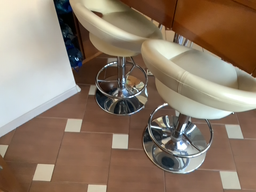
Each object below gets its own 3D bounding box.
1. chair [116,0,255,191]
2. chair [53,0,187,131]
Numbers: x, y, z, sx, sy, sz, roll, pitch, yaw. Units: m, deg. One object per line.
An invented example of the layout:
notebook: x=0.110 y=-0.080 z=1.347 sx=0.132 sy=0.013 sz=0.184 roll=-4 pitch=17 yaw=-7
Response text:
chair: x=0.320 y=0.050 z=1.100 sx=0.460 sy=0.820 sz=0.600 roll=-36 pitch=60 yaw=-26
chair: x=-0.060 y=-0.280 z=1.370 sx=0.460 sy=0.800 sz=0.530 roll=-36 pitch=60 yaw=-26
